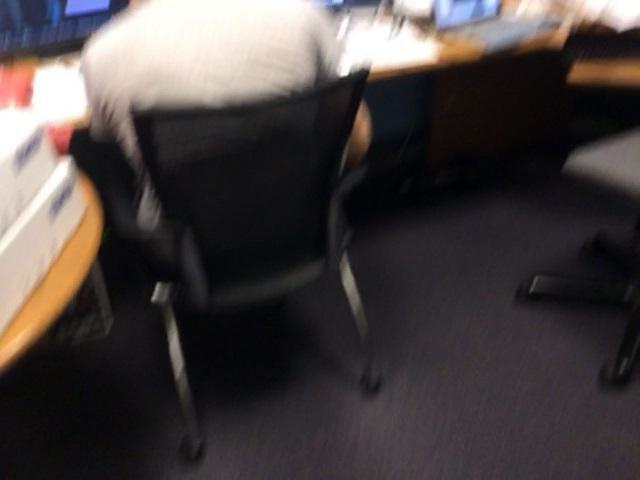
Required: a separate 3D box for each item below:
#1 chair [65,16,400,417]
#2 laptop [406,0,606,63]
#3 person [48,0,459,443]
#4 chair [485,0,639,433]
[{"bbox_3d":[-0.180,-0.060,1.320,0.550,0.710,0.390,-15,39,-18],"label":"chair"},{"bbox_3d":[0.570,-0.750,1.800,0.460,0.210,0.370,-16,39,-19],"label":"laptop"},{"bbox_3d":[-0.220,-0.300,1.420,0.660,1.170,0.830,-15,39,-18],"label":"person"},{"bbox_3d":[0.920,-0.190,1.430,0.600,1.100,0.580,-15,39,-18],"label":"chair"}]
